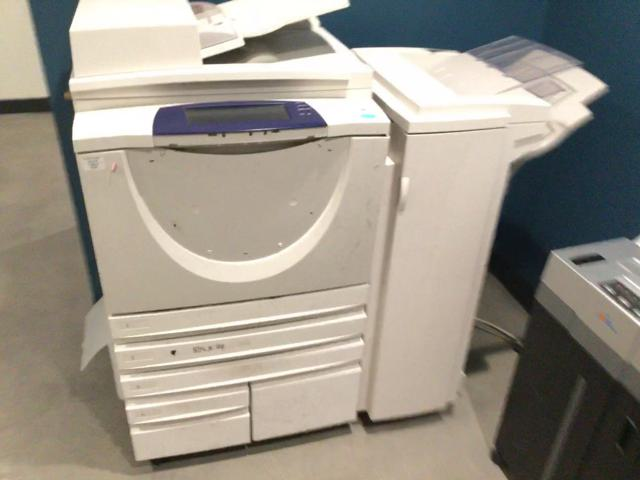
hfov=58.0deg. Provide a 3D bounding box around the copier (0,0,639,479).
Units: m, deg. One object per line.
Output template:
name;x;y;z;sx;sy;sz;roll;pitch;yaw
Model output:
copier;0.020;-0.040;1.510;1.290;1.120;0.570;-2;27;-16
